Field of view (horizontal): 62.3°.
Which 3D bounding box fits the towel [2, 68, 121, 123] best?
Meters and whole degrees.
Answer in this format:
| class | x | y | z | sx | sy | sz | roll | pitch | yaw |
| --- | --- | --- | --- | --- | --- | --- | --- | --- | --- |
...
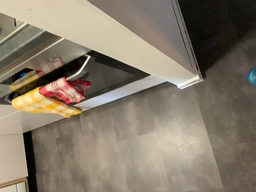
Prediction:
| class | x | y | z | sx | sy | sz | roll | pitch | yaw |
| --- | --- | --- | --- | --- | --- | --- | --- | --- | --- |
| towel | -0.260 | 0.020 | 0.890 | 0.320 | 0.340 | 0.110 | -18 | 77 | 27 |
